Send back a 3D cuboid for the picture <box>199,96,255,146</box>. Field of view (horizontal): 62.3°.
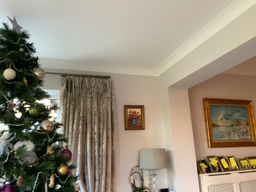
[{"bbox_3d":[1.630,0.390,3.400,1.020,0.770,0.050,2,-14,-18],"label":"picture"}]

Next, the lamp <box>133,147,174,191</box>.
[{"bbox_3d":[0.310,1.000,2.640,0.380,0.700,0.320,2,-14,-18],"label":"lamp"}]
